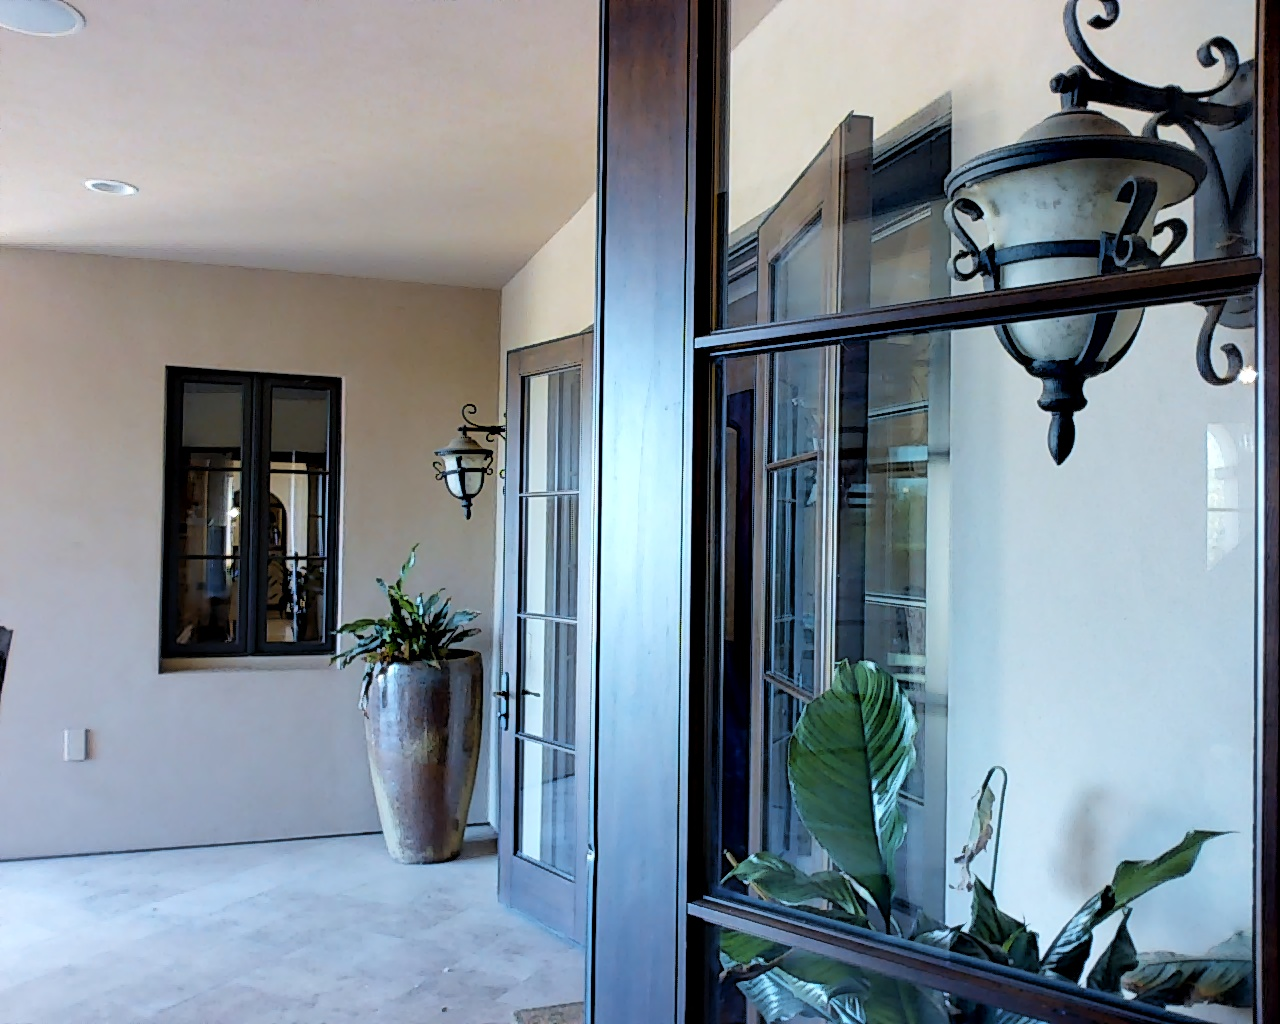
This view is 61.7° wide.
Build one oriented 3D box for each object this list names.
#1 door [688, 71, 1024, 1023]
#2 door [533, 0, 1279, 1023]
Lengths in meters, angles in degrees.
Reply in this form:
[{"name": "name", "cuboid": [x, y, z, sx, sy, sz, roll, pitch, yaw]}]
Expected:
[{"name": "door", "cuboid": [0.430, 0.320, 2.330, 0.350, 2.230, 0.720, 1, -1, -23]}, {"name": "door", "cuboid": [0.160, 0.380, 0.890, 0.630, 2.440, 0.110, 0, -1, 44]}]
